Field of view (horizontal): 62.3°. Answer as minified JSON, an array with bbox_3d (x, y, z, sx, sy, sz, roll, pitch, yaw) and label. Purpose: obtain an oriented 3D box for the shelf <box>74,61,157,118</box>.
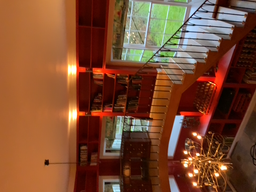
[{"bbox_3d":[-0.350,-0.130,5.500,0.350,1.980,1.330,-106,21,-62],"label":"shelf"}]
